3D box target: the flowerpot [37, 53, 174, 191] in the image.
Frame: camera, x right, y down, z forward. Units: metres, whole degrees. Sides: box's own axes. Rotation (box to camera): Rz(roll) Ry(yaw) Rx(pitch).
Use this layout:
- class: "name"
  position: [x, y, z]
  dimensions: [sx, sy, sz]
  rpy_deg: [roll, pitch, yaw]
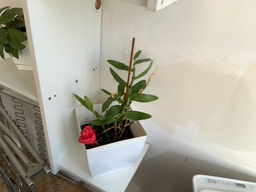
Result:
- class: "flowerpot"
  position: [-0.070, 0.090, 0.760]
  dimensions: [0.280, 0.320, 0.340]
  rpy_deg: [27, 40, 21]
